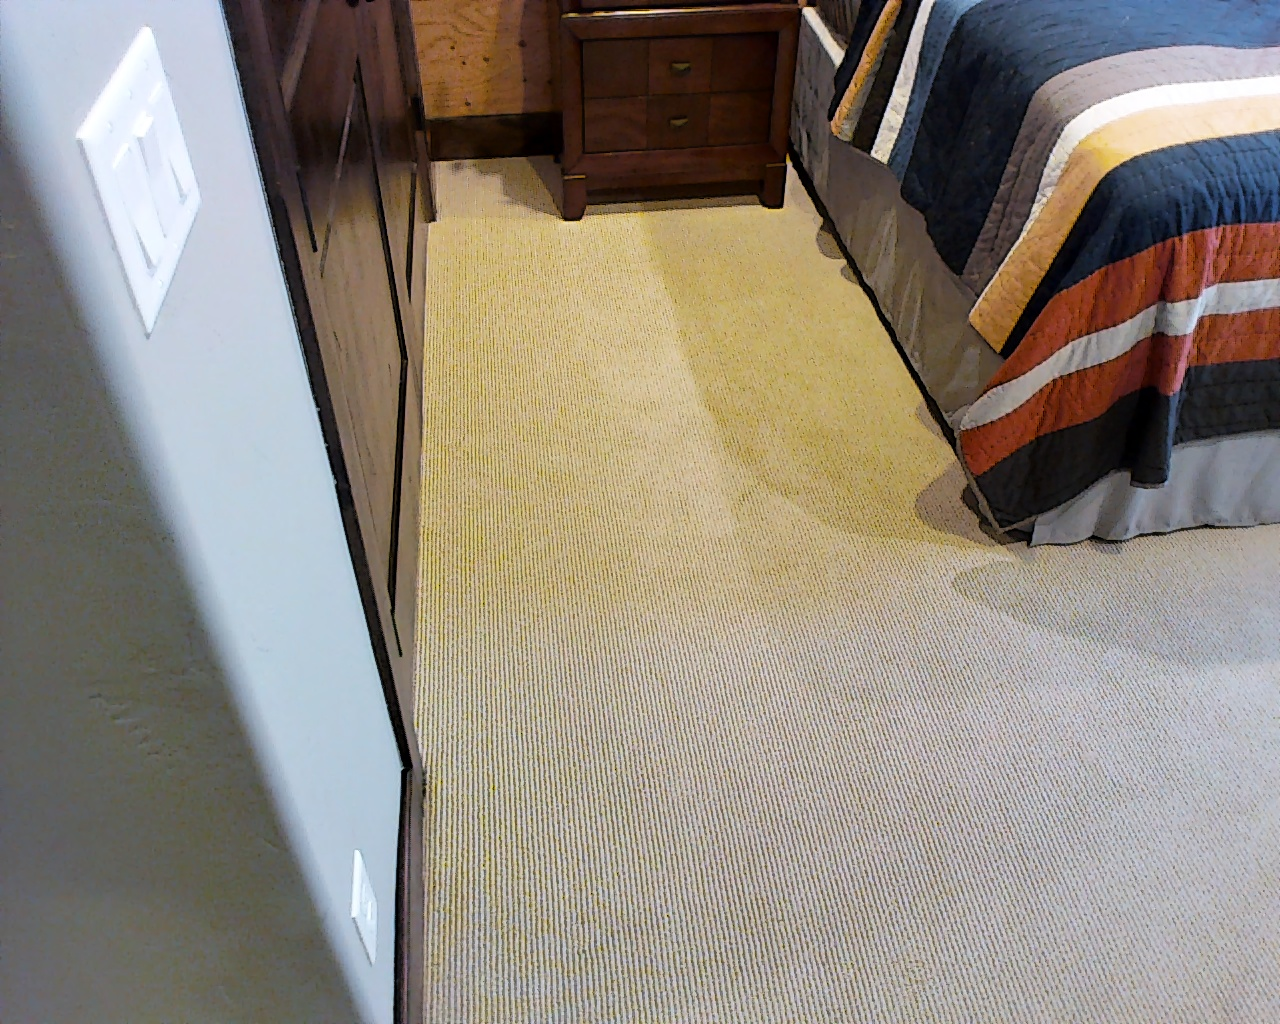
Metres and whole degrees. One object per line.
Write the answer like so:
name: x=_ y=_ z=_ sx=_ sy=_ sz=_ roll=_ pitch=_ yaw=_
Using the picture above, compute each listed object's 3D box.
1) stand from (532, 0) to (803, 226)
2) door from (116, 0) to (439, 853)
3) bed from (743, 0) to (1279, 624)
stand: x=0.050 y=-1.260 z=2.930 sx=0.650 sy=0.760 sz=0.460 roll=-5 pitch=42 yaw=-7
door: x=-0.470 y=-1.110 z=1.460 sx=0.080 sy=2.490 sz=2.010 roll=-5 pitch=42 yaw=-6
bed: x=1.250 y=-0.960 z=2.380 sx=1.550 sy=1.110 sz=2.050 roll=-5 pitch=42 yaw=-7
